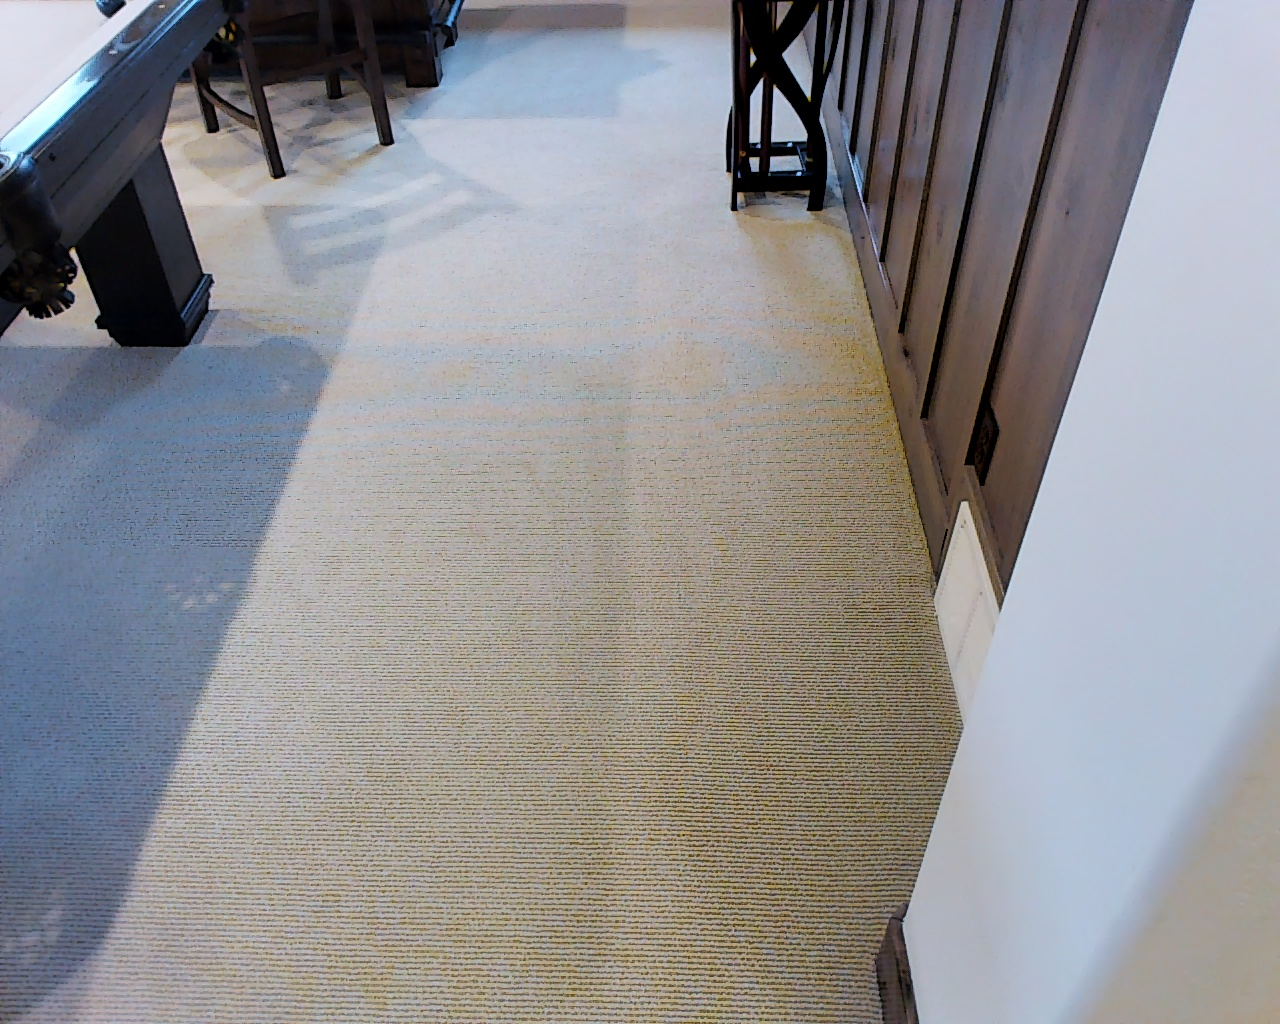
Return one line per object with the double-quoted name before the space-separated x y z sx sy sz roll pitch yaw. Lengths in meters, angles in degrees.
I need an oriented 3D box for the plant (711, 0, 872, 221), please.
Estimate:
"plant" 0.380 -1.420 2.640 0.360 1.340 0.350 0 42 1
